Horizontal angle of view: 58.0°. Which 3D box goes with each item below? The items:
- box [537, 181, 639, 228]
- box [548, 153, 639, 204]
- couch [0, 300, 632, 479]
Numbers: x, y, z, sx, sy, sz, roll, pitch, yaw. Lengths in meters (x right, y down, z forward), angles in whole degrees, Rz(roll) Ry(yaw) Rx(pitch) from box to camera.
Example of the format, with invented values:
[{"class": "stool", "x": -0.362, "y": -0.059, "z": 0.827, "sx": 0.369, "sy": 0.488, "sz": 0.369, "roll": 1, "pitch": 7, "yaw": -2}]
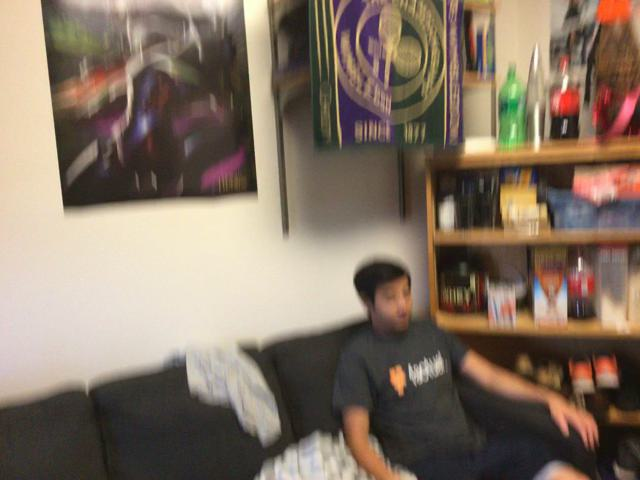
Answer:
[{"class": "box", "x": 1.070, "y": -0.140, "z": 2.220, "sx": 0.430, "sy": 0.150, "sz": 0.280, "roll": -1, "pitch": 6, "yaw": 18}, {"class": "box", "x": 1.110, "y": -0.240, "z": 2.230, "sx": 0.400, "sy": 0.170, "sz": 0.290, "roll": -1, "pitch": 6, "yaw": 16}, {"class": "couch", "x": -0.250, "y": 0.850, "z": 1.630, "sx": 2.120, "sy": 0.900, "sz": 1.110, "roll": -7, "pitch": 7, "yaw": -33}]
